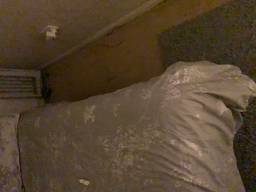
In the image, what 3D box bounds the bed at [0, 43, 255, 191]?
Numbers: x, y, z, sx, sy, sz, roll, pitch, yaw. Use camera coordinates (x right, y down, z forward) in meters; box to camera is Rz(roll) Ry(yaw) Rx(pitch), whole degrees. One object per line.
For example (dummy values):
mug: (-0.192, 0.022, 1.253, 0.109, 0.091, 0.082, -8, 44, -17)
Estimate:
bed: (-0.300, 0.800, 1.520, 2.250, 0.620, 1.560, -14, 83, 44)
